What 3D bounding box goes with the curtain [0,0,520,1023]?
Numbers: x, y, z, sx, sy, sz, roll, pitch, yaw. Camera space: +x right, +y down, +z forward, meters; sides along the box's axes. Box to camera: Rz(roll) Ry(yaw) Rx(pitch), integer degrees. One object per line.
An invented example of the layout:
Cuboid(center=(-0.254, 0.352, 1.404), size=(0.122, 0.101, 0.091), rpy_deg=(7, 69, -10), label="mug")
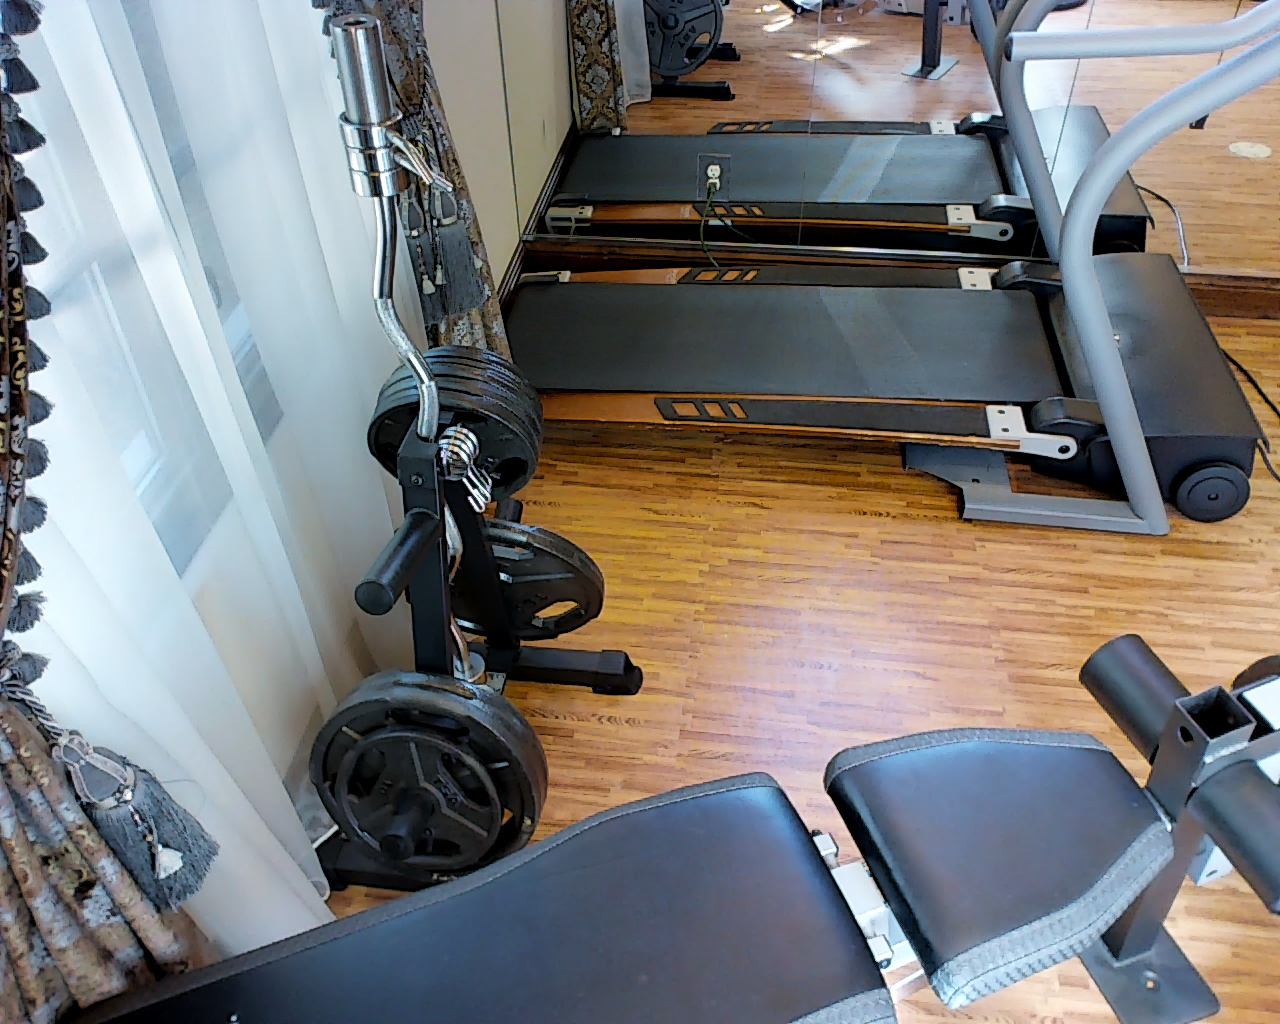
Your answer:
Cuboid(center=(-0.480, -0.230, 0.840), size=(0.270, 2.510, 1.140), rpy_deg=(4, 41, 7), label="curtain")
